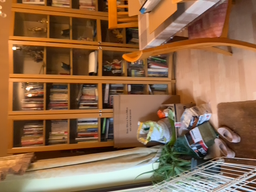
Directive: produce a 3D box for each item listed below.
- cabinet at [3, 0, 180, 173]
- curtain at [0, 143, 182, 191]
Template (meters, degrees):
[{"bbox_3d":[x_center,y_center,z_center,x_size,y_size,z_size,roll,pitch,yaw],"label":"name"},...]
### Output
[{"bbox_3d":[-0.400,-0.590,2.730,0.350,2.020,2.750,160,109,-71],"label":"cabinet"},{"bbox_3d":[-0.380,0.700,2.200,0.310,1.950,0.240,162,107,-71],"label":"curtain"}]
